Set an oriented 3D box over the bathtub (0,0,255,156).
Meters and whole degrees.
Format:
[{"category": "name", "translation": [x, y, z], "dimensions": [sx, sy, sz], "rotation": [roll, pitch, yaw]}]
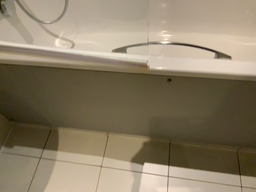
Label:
[{"category": "bathtub", "translation": [0.260, -0.210, 1.010], "dimensions": [1.810, 0.610, 0.710], "rotation": [5, 58, 8]}]
